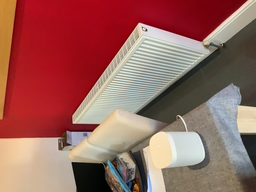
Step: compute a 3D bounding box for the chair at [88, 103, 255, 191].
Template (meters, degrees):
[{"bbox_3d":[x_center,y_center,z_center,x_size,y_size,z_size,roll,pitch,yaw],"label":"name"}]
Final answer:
[{"bbox_3d":[0.310,0.400,1.270,0.400,0.960,0.510,-43,49,47],"label":"chair"}]
